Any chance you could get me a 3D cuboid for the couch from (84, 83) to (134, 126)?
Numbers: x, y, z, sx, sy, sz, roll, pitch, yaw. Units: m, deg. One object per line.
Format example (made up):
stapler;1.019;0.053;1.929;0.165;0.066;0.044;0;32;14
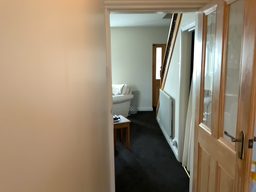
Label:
couch;-0.410;0.160;5.260;1.080;0.850;1.000;1;10;4
